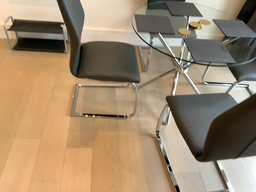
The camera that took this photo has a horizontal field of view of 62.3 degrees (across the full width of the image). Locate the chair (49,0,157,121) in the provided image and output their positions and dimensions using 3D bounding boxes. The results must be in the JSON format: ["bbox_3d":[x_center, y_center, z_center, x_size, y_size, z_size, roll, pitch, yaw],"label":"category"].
[{"bbox_3d":[-0.190,-0.330,1.570,0.540,1.020,0.490,2,45,-7],"label":"chair"}]

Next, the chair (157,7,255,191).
[{"bbox_3d":[0.610,0.120,1.240,0.550,1.020,0.580,-3,46,-11],"label":"chair"}]

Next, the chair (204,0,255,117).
[{"bbox_3d":[1.150,-0.320,1.800,0.530,0.970,0.470,-1,45,-9],"label":"chair"}]
